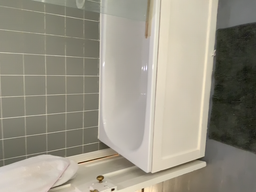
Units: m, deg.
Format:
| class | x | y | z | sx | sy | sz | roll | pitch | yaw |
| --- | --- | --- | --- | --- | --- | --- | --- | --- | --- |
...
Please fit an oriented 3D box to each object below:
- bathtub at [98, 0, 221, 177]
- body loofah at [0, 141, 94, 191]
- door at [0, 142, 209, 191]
| class | x | y | z | sx | sy | sz | roll | pitch | yaw |
| --- | --- | --- | --- | --- | --- | --- | --- | --- | --- |
| bathtub | 0.200 | -0.400 | 1.630 | 0.690 | 0.580 | 1.690 | 13 | 104 | 55 |
| body loofah | -0.820 | 0.490 | 1.250 | 0.530 | 1.100 | 0.180 | -3 | 90 | 56 |
| door | -0.470 | 0.570 | 1.400 | 0.860 | 2.060 | 0.040 | -3 | 90 | 56 |
